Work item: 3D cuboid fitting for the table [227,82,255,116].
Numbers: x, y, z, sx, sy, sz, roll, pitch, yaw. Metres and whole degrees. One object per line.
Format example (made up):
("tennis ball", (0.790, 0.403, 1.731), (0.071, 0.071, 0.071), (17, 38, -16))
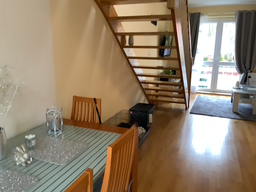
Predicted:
("table", (2.790, 0.030, 5.130), (0.640, 0.540, 1.070), (6, 15, 21))
